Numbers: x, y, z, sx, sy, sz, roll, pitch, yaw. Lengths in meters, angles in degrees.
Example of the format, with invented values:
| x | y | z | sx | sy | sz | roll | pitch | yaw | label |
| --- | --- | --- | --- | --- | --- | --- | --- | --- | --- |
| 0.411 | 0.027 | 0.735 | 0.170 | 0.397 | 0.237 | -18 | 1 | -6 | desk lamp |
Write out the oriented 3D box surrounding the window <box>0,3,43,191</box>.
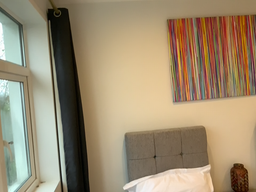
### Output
| x | y | z | sx | sy | sz | roll | pitch | yaw | label |
| --- | --- | --- | --- | --- | --- | --- | --- | --- | --- |
| -0.720 | 0.110 | 0.730 | 0.130 | 1.330 | 2.120 | -5 | 2 | -7 | window |
